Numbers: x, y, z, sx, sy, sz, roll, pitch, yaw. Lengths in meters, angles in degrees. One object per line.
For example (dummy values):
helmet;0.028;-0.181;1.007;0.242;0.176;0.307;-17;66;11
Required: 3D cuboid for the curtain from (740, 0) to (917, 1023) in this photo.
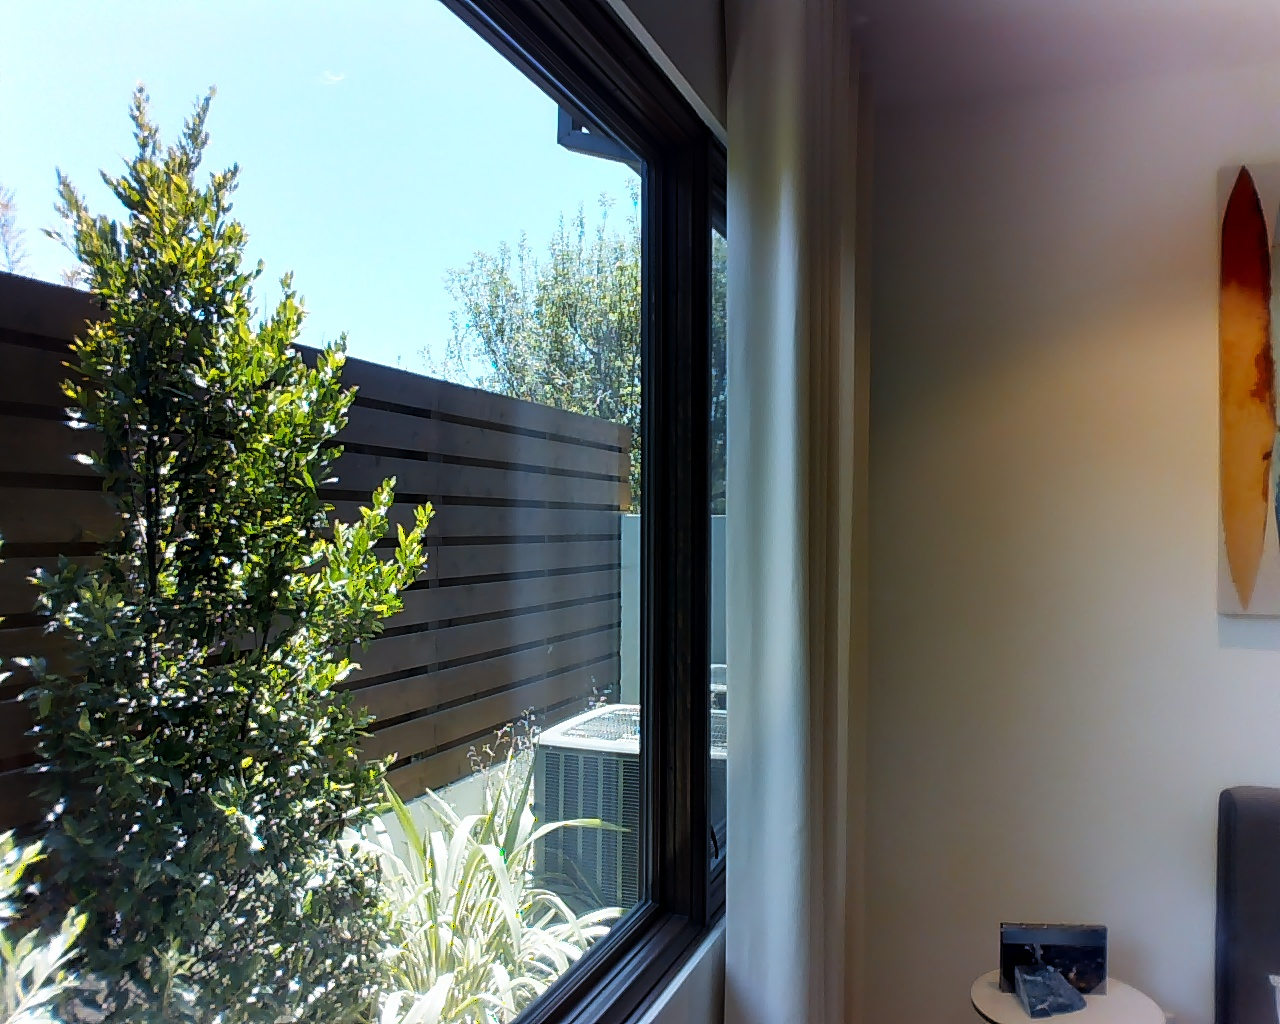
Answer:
curtain;0.450;0.270;2.420;0.230;2.810;0.820;0;0;21
